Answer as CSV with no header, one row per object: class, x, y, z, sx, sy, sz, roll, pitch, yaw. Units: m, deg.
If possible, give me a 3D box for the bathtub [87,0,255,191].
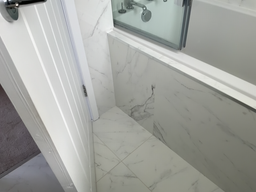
bathtub,0.590,-0.010,1.130,0.720,0.570,1.620,-34,52,-28
